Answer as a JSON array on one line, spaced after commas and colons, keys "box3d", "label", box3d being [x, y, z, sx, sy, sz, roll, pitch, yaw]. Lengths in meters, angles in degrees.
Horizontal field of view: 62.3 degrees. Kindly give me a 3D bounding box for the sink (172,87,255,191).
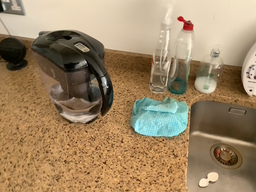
[{"box3d": [0.350, 0.220, 0.660, 0.370, 0.230, 0.420, 11, 42, 12], "label": "sink"}]
